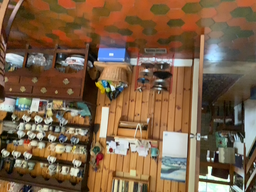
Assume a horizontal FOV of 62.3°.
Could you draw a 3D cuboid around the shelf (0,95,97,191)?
[{"bbox_3d":[-1.200,0.630,2.890,1.390,1.190,0.310,3,170,12],"label":"shelf"}]
